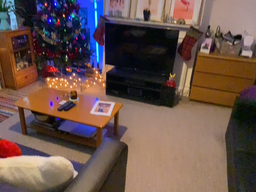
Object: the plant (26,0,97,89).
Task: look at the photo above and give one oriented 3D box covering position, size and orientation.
[{"bbox_3d":[-1.080,-1.390,3.630,0.760,2.250,0.900,12,27,16],"label":"plant"}]
